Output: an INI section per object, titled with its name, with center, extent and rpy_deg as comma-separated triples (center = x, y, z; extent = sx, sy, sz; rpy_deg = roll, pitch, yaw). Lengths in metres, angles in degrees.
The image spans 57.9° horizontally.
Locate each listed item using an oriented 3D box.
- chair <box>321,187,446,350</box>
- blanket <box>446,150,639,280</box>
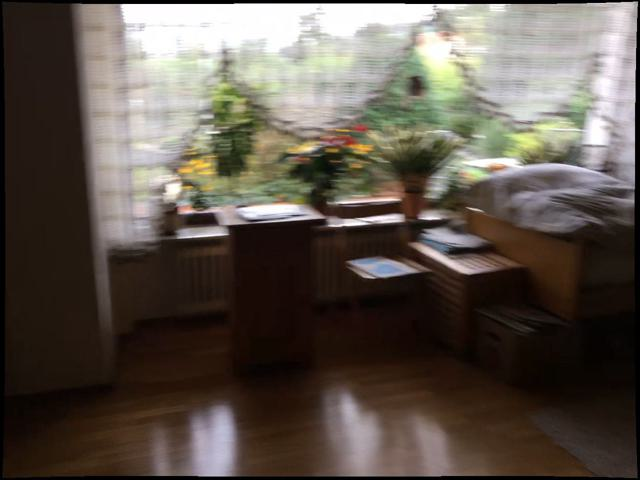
[chair]
center = 0.330, 0.130, 3.320
extent = 0.490, 0.721, 0.630
rpy_deg = -5, 18, -16
[blanket]
center = 1.399, -0.190, 3.060
extent = 1.109, 0.390, 0.920
rpy_deg = -5, 18, -16
